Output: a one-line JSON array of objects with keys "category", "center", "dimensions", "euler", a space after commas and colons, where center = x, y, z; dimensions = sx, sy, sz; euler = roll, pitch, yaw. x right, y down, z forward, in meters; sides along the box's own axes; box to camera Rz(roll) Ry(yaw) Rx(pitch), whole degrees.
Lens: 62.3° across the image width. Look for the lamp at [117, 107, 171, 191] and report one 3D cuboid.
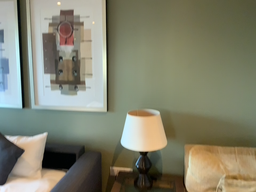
[{"category": "lamp", "center": [0.150, 0.450, 1.850], "dimensions": [0.410, 0.630, 0.380], "euler": [2, 8, 10]}]
